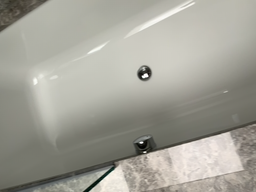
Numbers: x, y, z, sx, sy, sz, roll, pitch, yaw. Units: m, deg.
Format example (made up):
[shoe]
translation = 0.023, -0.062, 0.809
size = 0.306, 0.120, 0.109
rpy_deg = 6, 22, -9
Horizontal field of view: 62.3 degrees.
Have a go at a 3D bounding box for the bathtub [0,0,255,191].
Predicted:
[bathtub]
translation = 0.060, -0.080, 0.890
size = 1.630, 0.550, 0.740
rpy_deg = -21, 85, 20
